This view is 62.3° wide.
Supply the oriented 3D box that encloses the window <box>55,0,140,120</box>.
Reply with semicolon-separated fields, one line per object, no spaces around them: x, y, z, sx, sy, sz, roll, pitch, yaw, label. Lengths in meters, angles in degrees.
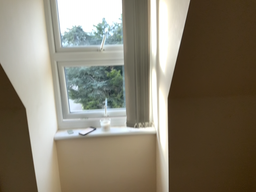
-0.250;-0.370;1.880;0.690;1.190;0.040;-2;13;0;window
